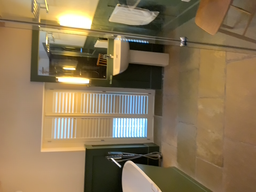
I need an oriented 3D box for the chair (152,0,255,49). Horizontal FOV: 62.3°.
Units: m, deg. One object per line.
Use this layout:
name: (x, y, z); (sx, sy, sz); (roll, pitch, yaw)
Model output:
chair: (0.700, -0.770, 1.730); (0.430, 0.800, 0.560); (-110, 28, -52)
